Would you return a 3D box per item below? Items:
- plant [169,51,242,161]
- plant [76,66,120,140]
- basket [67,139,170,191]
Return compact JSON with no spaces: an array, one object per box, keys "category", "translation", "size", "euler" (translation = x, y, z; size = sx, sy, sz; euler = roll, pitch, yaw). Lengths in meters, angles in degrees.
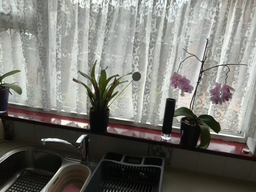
[{"category":"plant","translation":[0.410,0.050,1.210],"size":[0.260,0.570,0.190],"euler":[7,17,6]},{"category":"plant","translation":[-0.190,0.040,1.340],"size":[0.230,0.420,0.150],"euler":[6,17,3]},{"category":"basket","translation":[-0.010,0.430,1.090],"size":[0.410,0.140,0.470],"euler":[9,17,11]}]
